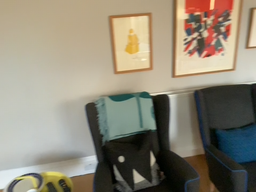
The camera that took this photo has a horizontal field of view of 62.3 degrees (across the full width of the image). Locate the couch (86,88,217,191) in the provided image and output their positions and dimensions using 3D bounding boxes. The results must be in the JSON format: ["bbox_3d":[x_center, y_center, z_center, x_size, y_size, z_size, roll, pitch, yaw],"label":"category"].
[{"bbox_3d":[0.080,0.570,1.650,0.680,0.980,0.900,-7,20,-9],"label":"couch"}]

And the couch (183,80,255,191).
[{"bbox_3d":[1.020,0.480,1.800,0.690,0.940,0.980,-7,20,-9],"label":"couch"}]
